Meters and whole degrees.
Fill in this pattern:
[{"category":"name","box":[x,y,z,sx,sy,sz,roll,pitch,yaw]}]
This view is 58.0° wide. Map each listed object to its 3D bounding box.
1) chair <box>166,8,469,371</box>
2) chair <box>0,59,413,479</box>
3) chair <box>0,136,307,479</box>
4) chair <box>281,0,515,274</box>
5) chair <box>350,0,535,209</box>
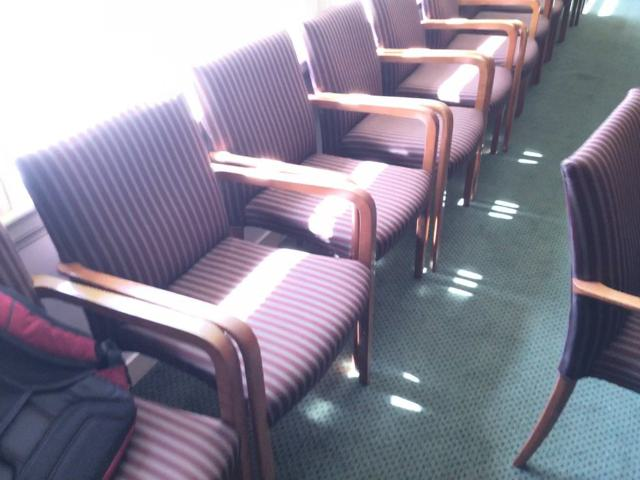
[{"category":"chair","box":[0.040,-0.190,1.830,0.610,0.850,0.620,15,40,25]},{"category":"chair","box":[-0.210,0.120,1.380,0.620,0.830,0.680,15,40,25]},{"category":"chair","box":[-0.470,0.390,0.990,0.620,0.840,0.650,15,40,25]},{"category":"chair","box":[0.300,-0.440,2.180,0.610,0.830,0.570,15,40,25]},{"category":"chair","box":[0.540,-0.710,2.550,0.570,0.840,0.640,15,40,25]}]
